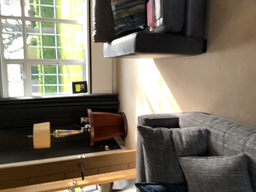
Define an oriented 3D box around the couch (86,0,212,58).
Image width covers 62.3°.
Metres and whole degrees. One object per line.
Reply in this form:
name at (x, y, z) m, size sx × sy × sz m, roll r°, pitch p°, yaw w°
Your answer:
couch at (0.090, -1.020, 1.990) m, size 1.120 × 0.790 × 1.240 m, roll -159°, pitch 68°, yaw -68°
